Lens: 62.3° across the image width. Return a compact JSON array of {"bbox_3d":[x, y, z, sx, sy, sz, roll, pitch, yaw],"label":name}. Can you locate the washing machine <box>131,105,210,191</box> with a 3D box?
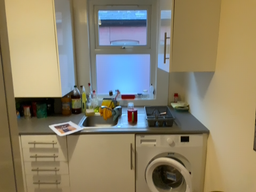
[{"bbox_3d":[0.370,0.640,2.320,0.640,0.880,0.900,0,12,-1],"label":"washing machine"}]
